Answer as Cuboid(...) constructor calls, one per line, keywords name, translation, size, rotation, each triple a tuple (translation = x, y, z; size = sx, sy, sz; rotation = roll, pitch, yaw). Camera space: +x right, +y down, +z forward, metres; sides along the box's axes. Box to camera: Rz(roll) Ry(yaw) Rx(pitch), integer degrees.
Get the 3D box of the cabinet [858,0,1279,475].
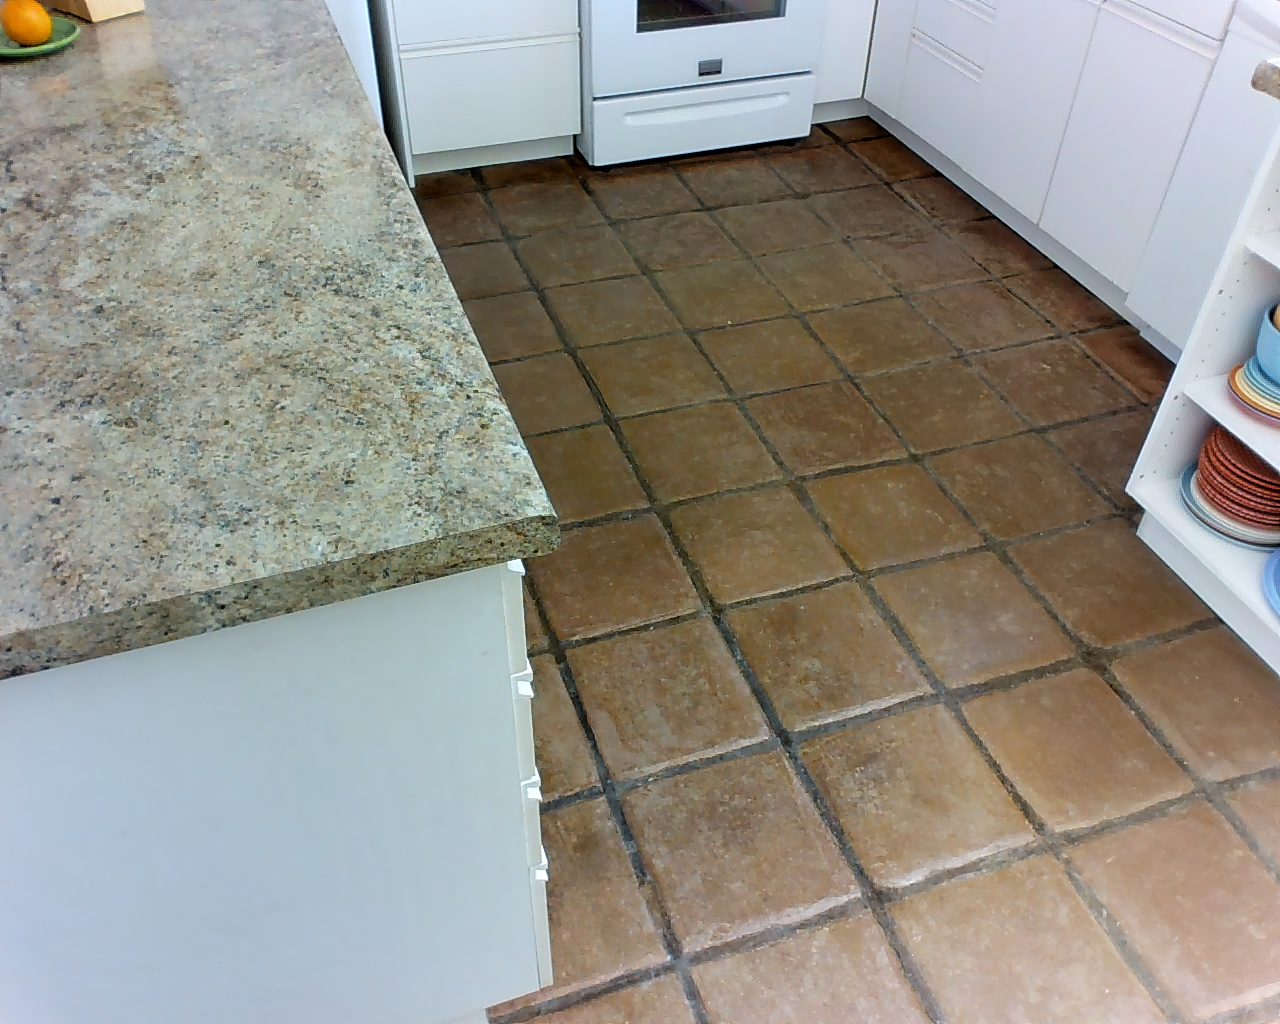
Cuboid(name="cabinet", translation=(1.110, -1.030, 2.690), size=(0.050, 0.940, 1.980), rotation=(-12, 43, -15))
